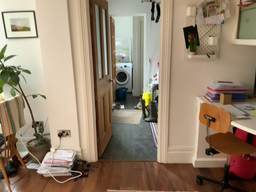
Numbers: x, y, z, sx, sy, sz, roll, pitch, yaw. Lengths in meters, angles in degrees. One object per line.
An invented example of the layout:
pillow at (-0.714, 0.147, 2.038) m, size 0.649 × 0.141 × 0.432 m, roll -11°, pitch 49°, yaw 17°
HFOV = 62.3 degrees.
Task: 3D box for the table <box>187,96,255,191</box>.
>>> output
table at (1.080, 0.530, 2.000) m, size 0.720 × 0.830 × 1.030 m, roll 0°, pitch 15°, yaw 1°
